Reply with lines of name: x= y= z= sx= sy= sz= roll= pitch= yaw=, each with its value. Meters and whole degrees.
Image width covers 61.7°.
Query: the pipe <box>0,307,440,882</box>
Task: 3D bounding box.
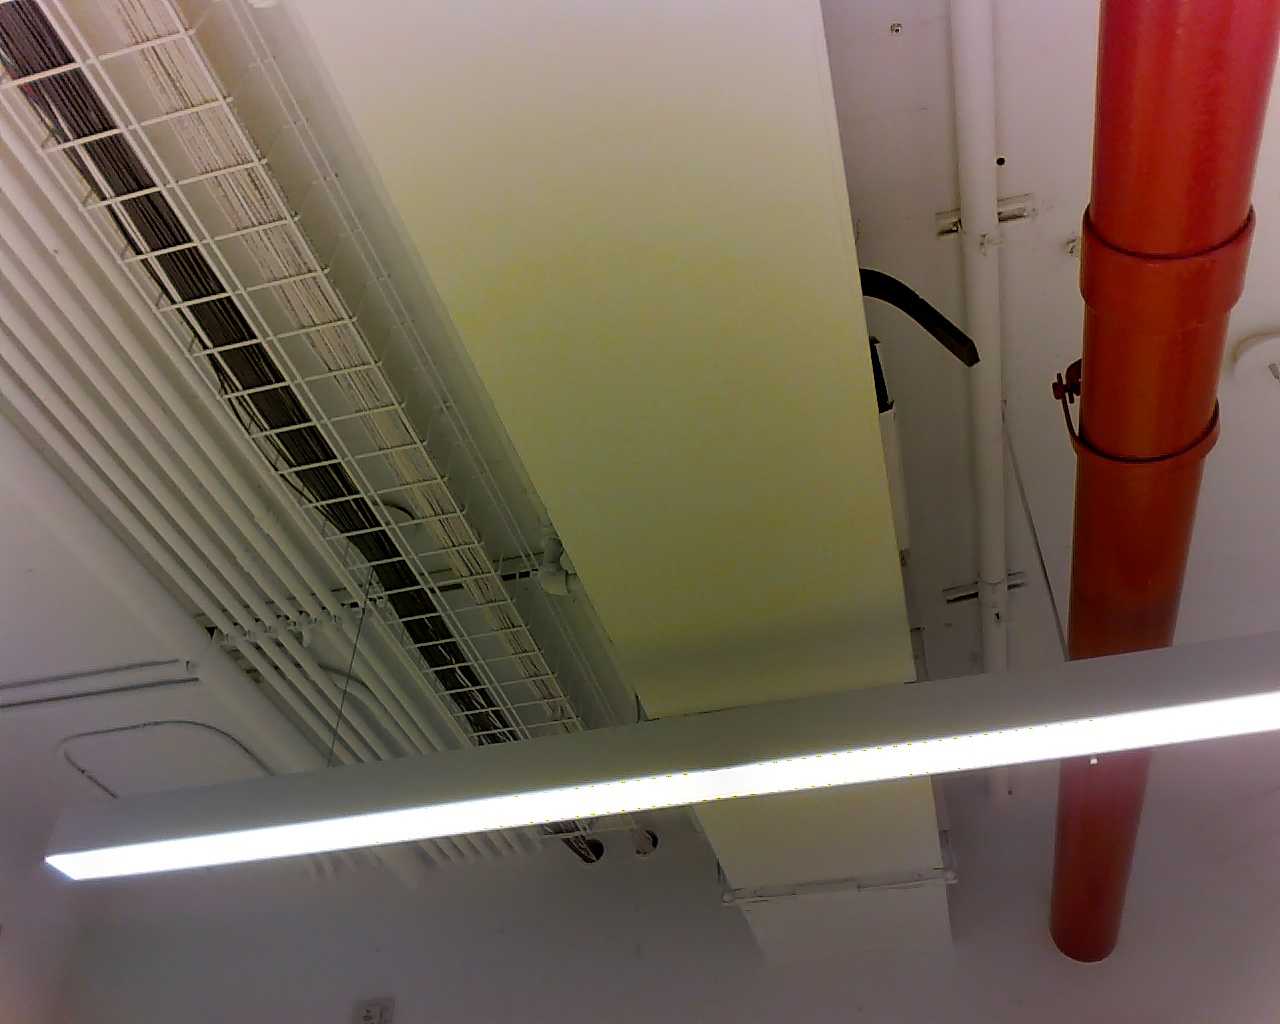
pipe: x=-1.489 y=-0.911 z=1.240 sx=0.220 sy=0.150 sz=6.072 roll=-9 pitch=-44 yaw=11
